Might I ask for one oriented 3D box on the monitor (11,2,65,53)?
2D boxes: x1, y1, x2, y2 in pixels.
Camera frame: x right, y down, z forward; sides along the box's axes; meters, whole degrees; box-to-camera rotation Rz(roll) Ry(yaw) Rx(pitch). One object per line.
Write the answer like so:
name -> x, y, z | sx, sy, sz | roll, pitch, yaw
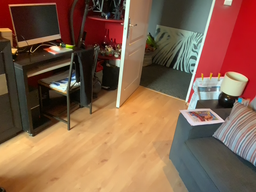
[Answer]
monitor -> -0.880, -0.670, 2.110 | 0.040, 0.430, 0.570 | 26, 26, 21
